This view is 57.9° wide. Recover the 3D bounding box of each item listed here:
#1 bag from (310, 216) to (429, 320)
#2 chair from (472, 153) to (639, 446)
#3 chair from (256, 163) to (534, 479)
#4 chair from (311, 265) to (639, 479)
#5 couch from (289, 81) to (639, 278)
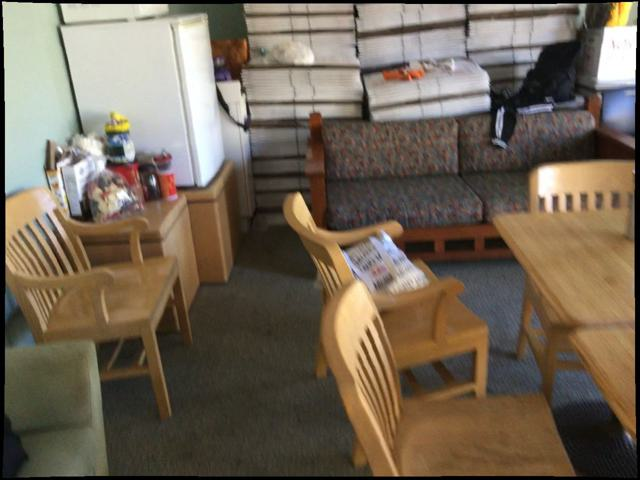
[{"bbox_3d":[0.170,0.090,2.130,0.390,0.190,0.420,-3,26,2],"label":"bag"},{"bbox_3d":[0.999,0.180,2.100,0.689,0.791,0.690,-3,26,2],"label":"chair"},{"bbox_3d":[0.220,0.260,2.060,0.709,0.821,0.640,-10,26,-13],"label":"chair"},{"bbox_3d":[0.320,0.591,1.340,0.619,0.801,0.700,-3,26,2],"label":"chair"},{"bbox_3d":[0.839,-0.410,3.450,1.928,0.761,1.070,-3,26,2],"label":"couch"}]
